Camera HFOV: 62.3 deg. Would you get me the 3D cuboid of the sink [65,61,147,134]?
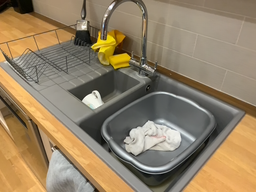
[{"bbox_3d":[-0.090,-0.010,0.950,0.200,0.150,0.290,31,46,34],"label":"sink"}]
